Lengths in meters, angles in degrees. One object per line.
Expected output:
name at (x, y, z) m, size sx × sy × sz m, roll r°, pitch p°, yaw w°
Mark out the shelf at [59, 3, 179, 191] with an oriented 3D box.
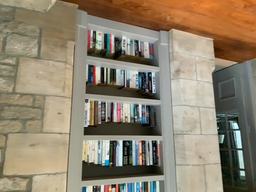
shelf at (-0.080, 0.280, 2.150) m, size 1.050 × 2.160 × 0.440 m, roll 5°, pitch 167°, yaw -25°
